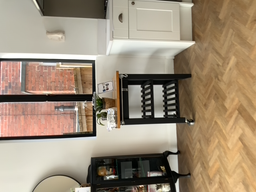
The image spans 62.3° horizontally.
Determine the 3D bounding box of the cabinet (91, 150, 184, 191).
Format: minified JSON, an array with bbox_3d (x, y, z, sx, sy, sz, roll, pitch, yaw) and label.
[{"bbox_3d":[0.100,1.200,2.600,0.330,1.100,0.950,167,103,-79],"label":"cabinet"}]
